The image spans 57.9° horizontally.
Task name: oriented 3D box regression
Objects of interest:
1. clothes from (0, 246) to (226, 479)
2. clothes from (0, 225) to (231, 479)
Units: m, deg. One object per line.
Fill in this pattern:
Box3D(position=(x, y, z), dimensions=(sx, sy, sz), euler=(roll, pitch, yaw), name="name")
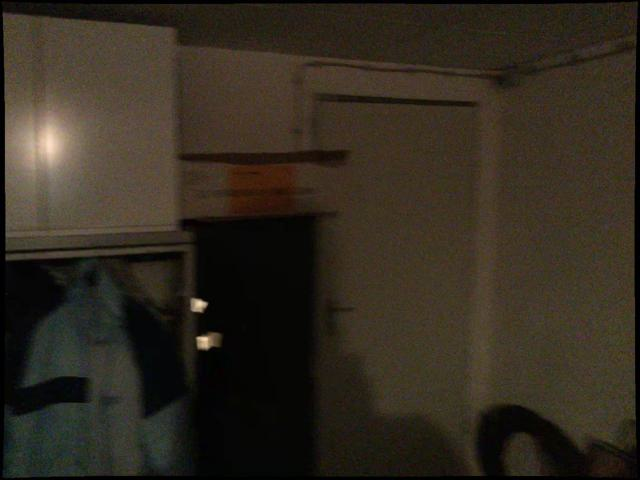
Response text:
Box3D(position=(-0.629, 0.501, 1.730), dimensions=(0.629, 0.901, 0.270), euler=(-4, 9, -23), name="clothes")
Box3D(position=(-0.929, 0.541, 1.890), dimensions=(1.119, 1.061, 0.670), euler=(-4, 9, -23), name="clothes")
